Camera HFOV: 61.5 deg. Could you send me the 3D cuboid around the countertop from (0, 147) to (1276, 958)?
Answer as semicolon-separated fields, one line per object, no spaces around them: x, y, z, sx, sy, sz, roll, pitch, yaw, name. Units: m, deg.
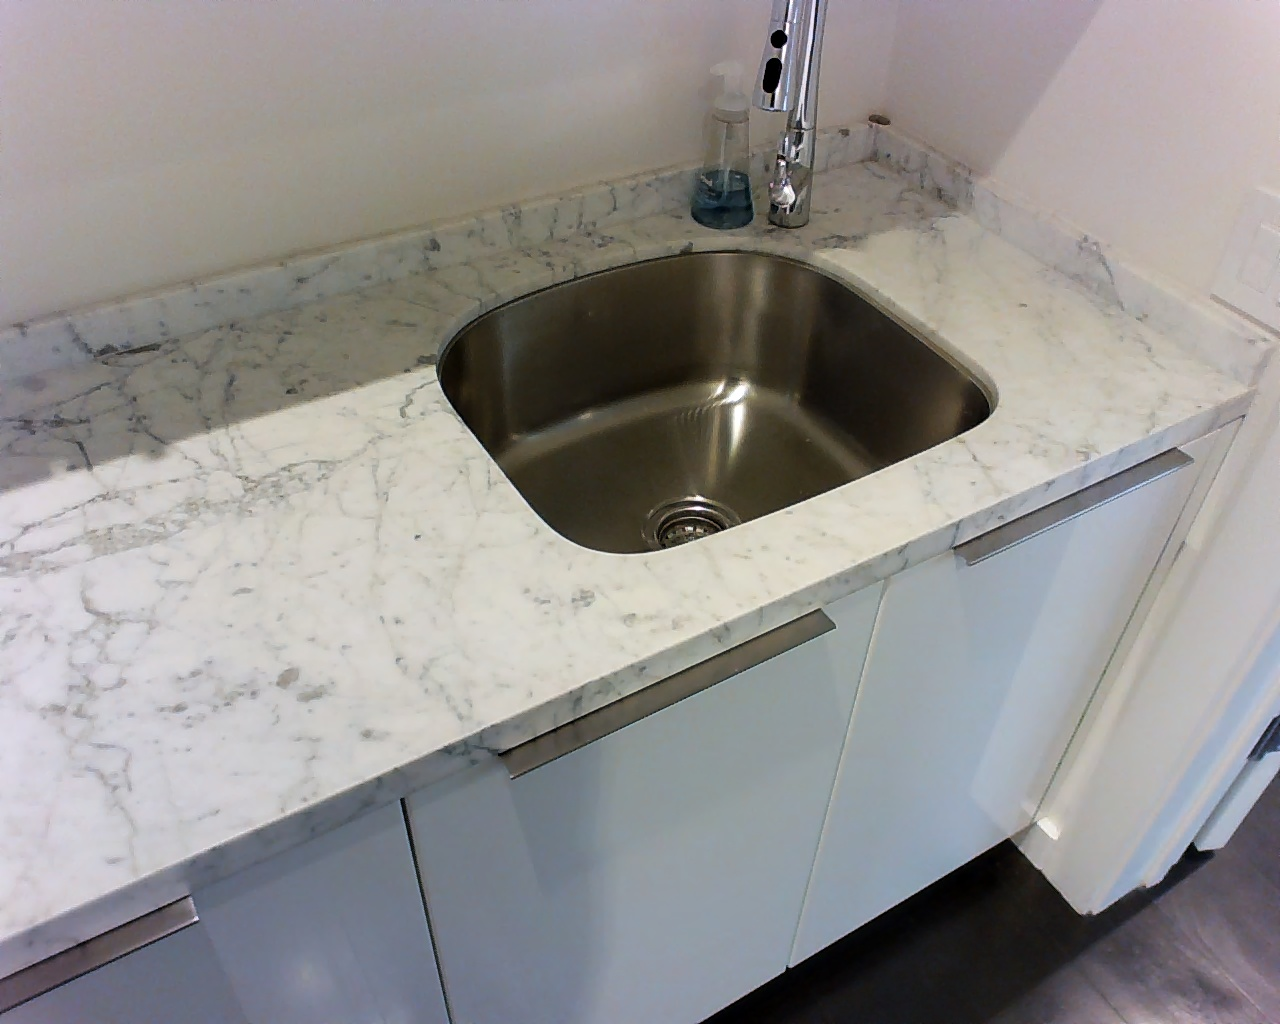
-0.450;0.040;0.880;2.160;0.040;0.620;-20;46;-23;countertop
